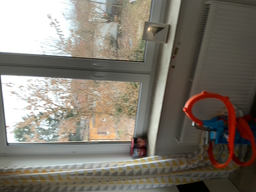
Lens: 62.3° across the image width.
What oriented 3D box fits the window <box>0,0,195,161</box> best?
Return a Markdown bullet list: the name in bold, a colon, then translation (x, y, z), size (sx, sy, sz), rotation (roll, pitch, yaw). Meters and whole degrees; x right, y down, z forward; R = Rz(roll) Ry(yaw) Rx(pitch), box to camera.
- **window**: translation (-0.430, -0.230, 1.730), size (0.220, 1.740, 1.620), rotation (-117, 31, -66)
